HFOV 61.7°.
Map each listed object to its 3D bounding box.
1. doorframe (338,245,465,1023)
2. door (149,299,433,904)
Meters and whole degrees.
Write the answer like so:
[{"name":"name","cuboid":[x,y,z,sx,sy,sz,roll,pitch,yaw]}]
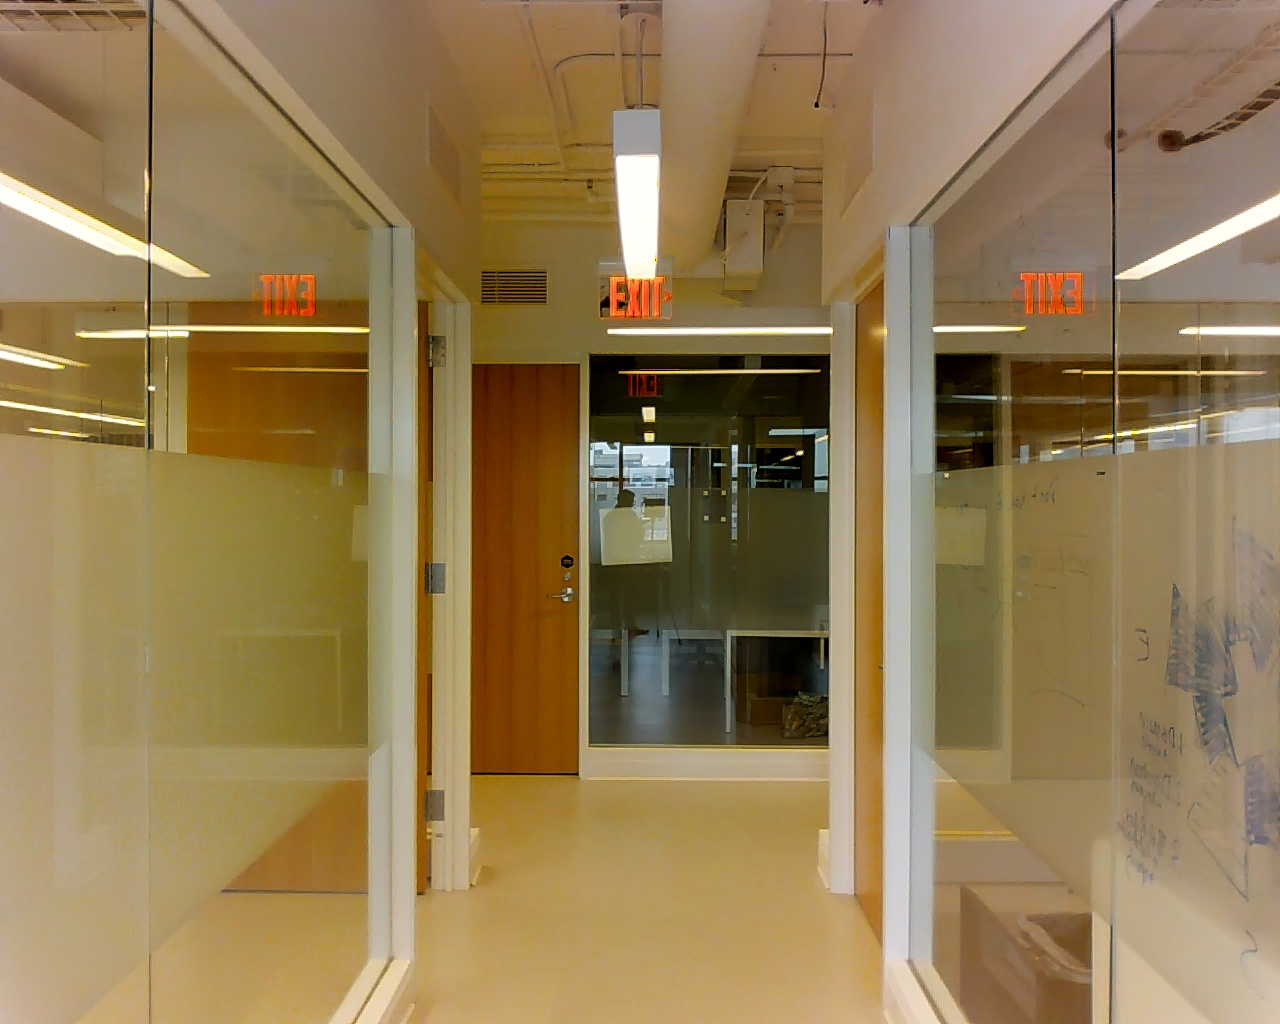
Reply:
[{"name":"doorframe","cuboid":[-0.760,0.350,3.550,0.180,2.210,1.040,0,0,0]},{"name":"door","cuboid":[-1.300,0.330,4.010,1.030,2.230,0.100,0,0,1]}]
